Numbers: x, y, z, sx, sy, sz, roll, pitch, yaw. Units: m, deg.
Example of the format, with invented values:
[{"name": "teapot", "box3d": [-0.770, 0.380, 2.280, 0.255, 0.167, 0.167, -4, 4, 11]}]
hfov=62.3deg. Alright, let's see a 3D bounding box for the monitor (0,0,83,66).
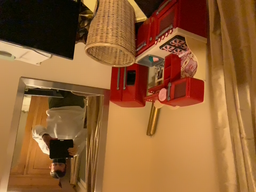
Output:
[{"name": "monitor", "box3d": [-0.400, -0.320, 0.780, 0.450, 0.300, 0.060, 13, 165, -35]}]
